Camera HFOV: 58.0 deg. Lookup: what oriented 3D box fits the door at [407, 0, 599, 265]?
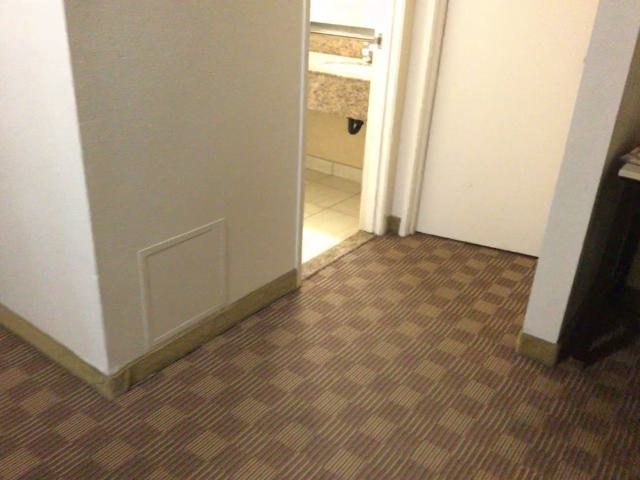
[{"bbox_3d":[0.850,-0.810,2.660,0.670,1.840,0.130,13,26,20],"label":"door"}]
